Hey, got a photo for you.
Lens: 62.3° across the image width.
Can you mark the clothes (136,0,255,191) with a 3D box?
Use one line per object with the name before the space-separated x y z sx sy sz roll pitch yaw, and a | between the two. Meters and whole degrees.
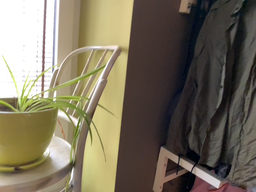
clothes | 0.540 -0.070 0.920 0.630 1.010 0.640 -4 15 -44
